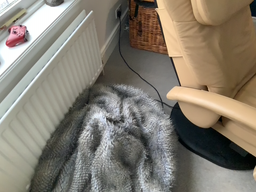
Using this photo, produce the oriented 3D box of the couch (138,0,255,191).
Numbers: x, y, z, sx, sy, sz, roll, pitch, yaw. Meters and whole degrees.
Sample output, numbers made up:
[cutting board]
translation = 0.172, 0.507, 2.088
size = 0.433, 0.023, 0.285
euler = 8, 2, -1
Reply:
[couch]
translation = 0.680, -0.110, 1.180
size = 0.660, 1.130, 1.080
euler = -36, 59, -24
